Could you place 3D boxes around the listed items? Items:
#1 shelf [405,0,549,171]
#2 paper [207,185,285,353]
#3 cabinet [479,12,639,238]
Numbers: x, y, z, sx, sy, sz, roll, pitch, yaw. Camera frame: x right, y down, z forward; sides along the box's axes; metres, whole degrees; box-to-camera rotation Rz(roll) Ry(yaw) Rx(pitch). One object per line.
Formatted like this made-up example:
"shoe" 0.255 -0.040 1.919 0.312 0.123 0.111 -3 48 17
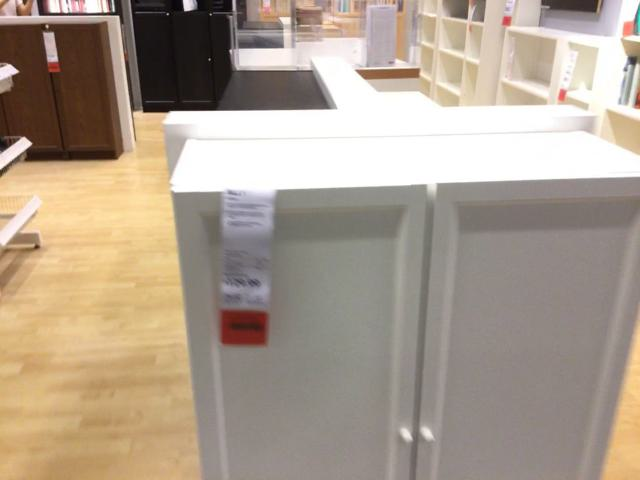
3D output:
"shelf" 1.300 -2.150 5.280 0.420 2.290 2.780 -2 24 -2
"paper" -0.110 0.050 0.900 0.100 0.270 0.040 -2 24 -2
"cabinet" 1.460 -0.840 3.720 0.290 1.100 1.570 -2 24 -2
